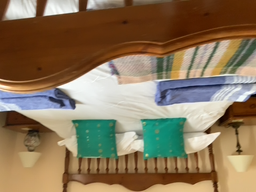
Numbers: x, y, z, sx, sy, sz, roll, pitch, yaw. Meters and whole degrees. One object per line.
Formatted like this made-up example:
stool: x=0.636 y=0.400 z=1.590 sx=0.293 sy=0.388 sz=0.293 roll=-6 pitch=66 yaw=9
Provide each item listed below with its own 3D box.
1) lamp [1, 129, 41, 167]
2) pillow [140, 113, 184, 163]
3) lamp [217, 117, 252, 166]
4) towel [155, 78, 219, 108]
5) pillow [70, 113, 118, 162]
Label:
lamp: x=-1.160 y=0.580 z=2.330 sx=0.260 sy=0.380 sz=0.230 roll=-3 pitch=162 yaw=7
pillow: x=0.290 y=0.360 z=1.860 sx=0.350 sy=0.380 sz=0.190 roll=-1 pitch=-171 yaw=-1
lamp: x=1.060 y=0.470 z=2.150 sx=0.190 sy=0.460 sz=0.230 roll=-3 pitch=162 yaw=7
towel: x=0.280 y=-0.010 z=1.070 sx=0.280 sy=0.080 sz=0.200 roll=-3 pitch=162 yaw=6
pillow: x=-0.290 y=0.370 z=1.900 sx=0.370 sy=0.370 sz=0.150 roll=4 pitch=-157 yaw=11
